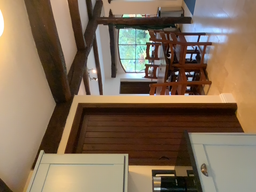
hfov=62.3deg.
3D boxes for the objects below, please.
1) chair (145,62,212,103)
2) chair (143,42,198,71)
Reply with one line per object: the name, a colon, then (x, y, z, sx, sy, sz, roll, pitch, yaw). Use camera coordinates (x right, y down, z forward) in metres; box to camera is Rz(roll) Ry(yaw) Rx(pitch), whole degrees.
chair: (0.860, -0.250, 3.850, 0.550, 1.040, 0.490, -89, -1, -47)
chair: (0.870, -0.860, 4.590, 0.600, 1.050, 0.420, -88, -1, -59)
